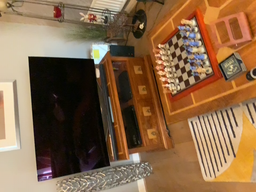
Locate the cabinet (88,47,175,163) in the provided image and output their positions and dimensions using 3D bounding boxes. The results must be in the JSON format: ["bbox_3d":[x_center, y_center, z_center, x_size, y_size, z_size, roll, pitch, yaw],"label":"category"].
[{"bbox_3d":[-0.010,0.110,2.520,0.580,0.630,1.170,-36,61,56],"label":"cabinet"}]
